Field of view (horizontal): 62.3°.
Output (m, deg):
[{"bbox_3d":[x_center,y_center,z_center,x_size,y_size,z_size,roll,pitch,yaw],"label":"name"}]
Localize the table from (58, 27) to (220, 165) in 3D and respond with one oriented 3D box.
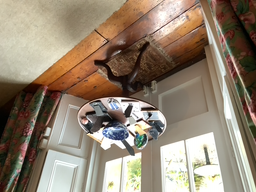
[{"bbox_3d":[0.030,0.090,1.760,1.160,0.600,0.490,-26,134,33],"label":"table"}]
